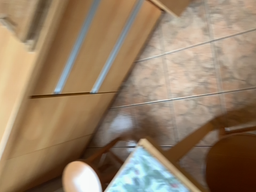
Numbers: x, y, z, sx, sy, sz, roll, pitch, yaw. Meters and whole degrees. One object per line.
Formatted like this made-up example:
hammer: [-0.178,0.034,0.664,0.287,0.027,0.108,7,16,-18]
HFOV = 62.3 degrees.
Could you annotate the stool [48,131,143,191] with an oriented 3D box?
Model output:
stool: [-0.210,0.520,1.460,0.320,0.450,0.340,44,114,22]
